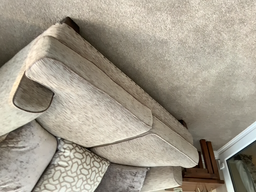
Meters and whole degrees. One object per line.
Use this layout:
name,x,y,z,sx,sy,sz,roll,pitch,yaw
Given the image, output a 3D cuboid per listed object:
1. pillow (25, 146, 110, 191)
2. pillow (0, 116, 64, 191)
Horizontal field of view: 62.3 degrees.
pillow,-0.460,0.680,1.660,0.260,0.520,0.550,1,171,42
pillow,-0.690,0.430,1.350,0.230,0.550,0.610,7,179,10
